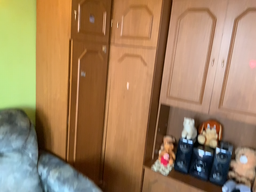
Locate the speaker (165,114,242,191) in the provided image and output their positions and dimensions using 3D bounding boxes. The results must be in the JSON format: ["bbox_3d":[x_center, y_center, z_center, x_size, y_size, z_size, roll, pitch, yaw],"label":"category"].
[{"bbox_3d":[0.670,0.500,1.920,0.540,0.520,0.250,13,14,28],"label":"speaker"}]
